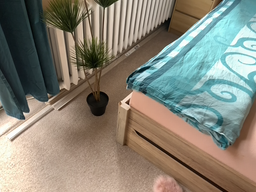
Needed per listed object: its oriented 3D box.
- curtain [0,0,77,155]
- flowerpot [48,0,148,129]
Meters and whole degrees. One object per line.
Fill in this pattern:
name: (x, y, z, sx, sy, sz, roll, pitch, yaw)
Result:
curtain: (-0.510, -0.780, 0.690, 0.160, 3.130, 0.420, 31, 50, 22)
flowerpot: (-0.170, -0.340, 1.340, 0.350, 1.110, 0.420, 30, 50, 21)
